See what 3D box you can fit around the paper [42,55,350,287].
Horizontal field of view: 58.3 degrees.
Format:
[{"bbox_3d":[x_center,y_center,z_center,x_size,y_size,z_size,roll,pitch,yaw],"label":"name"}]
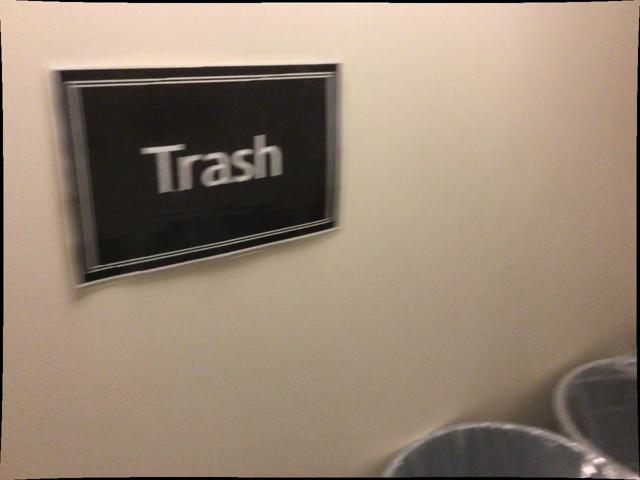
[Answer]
[{"bbox_3d":[-0.140,-0.120,0.840,0.450,0.280,0.030,-14,23,-35],"label":"paper"}]
